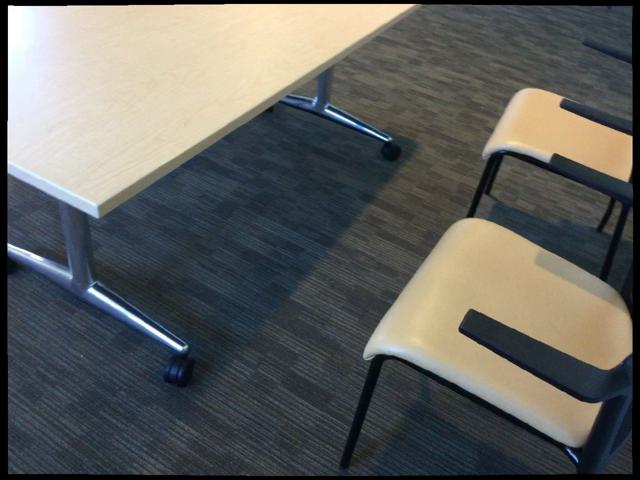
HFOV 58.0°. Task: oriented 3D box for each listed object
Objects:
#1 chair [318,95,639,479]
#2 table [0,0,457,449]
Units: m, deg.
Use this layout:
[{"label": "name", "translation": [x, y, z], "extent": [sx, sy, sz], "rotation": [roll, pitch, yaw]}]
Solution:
[{"label": "chair", "translation": [0.439, 0.230, 1.210], "extent": [0.619, 0.741, 0.570], "rotation": [23, 42, 17]}, {"label": "table", "translation": [-0.309, -0.451, 1.880], "extent": [0.879, 0.671, 1.890], "rotation": [23, 42, 17]}]
